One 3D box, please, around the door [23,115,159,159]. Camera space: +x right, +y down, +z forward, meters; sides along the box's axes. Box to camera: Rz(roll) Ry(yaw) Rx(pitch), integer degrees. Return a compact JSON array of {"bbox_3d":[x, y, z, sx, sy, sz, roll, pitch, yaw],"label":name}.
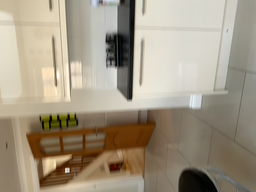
[{"bbox_3d":[-0.550,0.680,3.560,0.760,2.070,0.130,103,158,-45],"label":"door"}]
